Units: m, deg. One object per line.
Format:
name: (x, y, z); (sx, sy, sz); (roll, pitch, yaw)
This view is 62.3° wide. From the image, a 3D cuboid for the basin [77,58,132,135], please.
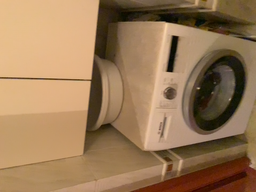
basin: (-0.160, -0.020, 1.260); (0.380, 0.130, 0.360); (26, 113, 54)
